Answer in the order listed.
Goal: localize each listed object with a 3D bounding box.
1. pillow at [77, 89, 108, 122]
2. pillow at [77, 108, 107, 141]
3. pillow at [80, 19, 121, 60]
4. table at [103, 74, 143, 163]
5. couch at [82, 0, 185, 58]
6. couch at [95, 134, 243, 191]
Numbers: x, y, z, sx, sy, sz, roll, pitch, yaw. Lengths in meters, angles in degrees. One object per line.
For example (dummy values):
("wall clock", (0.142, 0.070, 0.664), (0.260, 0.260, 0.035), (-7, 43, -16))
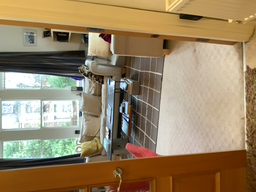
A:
("pillow", (-0.770, 0.200, 4.610), (0.260, 0.480, 0.520), (43, 152, 50))
("pillow", (-0.790, 0.640, 4.710), (0.220, 0.450, 0.540), (30, 144, 60))
("pillow", (-0.500, -1.030, 3.890), (0.230, 0.530, 0.500), (28, 155, 54))
("table", (-0.120, 0.370, 3.680), (0.520, 0.450, 1.420), (-144, 56, -67))
("couch", (-0.140, -1.160, 3.230), (2.290, 0.800, 0.930), (-143, 55, -67))
("couch", (0.250, 0.860, 1.870), (0.990, 0.910, 0.860), (176, 94, -71))
